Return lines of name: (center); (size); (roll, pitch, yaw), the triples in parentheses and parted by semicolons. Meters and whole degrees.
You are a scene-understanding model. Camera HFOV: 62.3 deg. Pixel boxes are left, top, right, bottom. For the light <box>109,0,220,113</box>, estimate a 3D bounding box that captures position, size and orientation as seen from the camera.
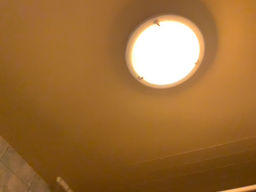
light: (0.150, -0.140, 0.800); (0.110, 0.350, 0.270); (-19, -136, 63)
